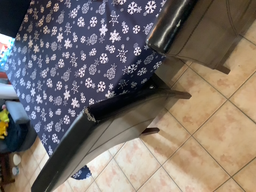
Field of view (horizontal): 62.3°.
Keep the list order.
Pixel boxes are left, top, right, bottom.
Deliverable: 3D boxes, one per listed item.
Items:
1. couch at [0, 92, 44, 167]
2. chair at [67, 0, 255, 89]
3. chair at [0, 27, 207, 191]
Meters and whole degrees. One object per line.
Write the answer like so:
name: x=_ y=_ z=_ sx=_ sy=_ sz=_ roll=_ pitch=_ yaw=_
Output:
couch: x=-1.530 y=0.410 z=2.610 sx=0.680 sy=0.510 sz=0.630 roll=-50 pitch=63 yaw=24
chair: x=0.330 y=-0.370 z=0.950 sx=0.490 sy=1.060 sz=0.430 roll=42 pitch=112 yaw=29
chair: x=-0.050 y=0.080 z=1.190 sx=0.510 sy=1.090 sz=0.430 roll=45 pitch=113 yaw=28
